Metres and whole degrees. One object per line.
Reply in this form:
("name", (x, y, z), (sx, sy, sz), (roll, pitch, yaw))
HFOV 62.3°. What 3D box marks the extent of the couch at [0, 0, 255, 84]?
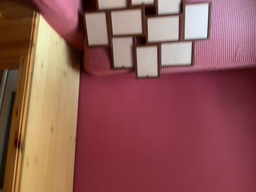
("couch", (0.240, -0.630, 1.150), (1.430, 0.790, 1.030), (-2, 165, 10))
